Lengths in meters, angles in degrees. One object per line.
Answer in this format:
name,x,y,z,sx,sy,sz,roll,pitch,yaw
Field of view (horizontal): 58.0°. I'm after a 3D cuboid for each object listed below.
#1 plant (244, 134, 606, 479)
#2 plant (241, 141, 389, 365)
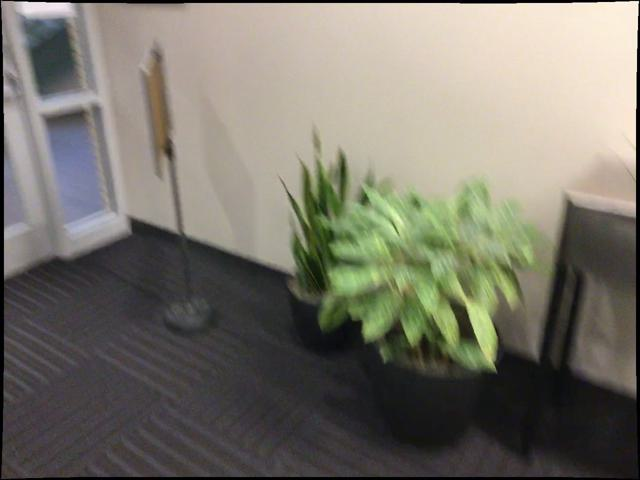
plant,0.349,0.211,1.930,0.799,0.801,0.820,18,34,30
plant,-0.010,0.040,2.340,0.419,0.731,0.370,18,34,30
